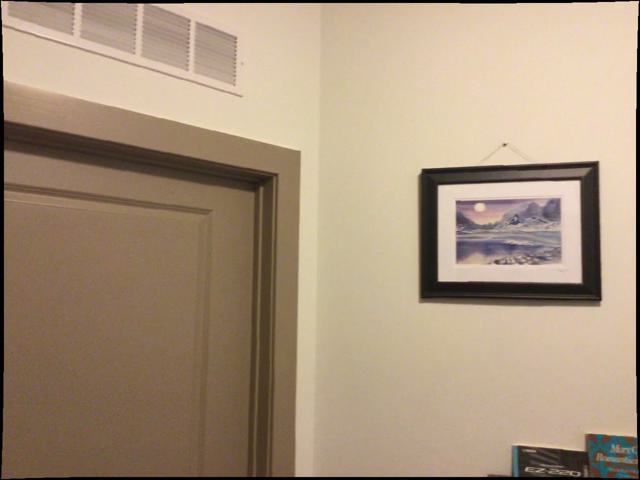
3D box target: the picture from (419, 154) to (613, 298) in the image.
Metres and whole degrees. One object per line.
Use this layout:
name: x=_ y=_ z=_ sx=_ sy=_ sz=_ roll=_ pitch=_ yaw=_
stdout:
picture: x=0.539 y=-0.030 z=1.630 sx=0.499 sy=0.381 sz=0.050 roll=-2 pitch=-4 yaw=17

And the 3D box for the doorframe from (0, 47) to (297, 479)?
doorframe: x=-0.529 y=0.702 z=1.360 sx=1.058 sy=2.205 sz=0.160 roll=2 pitch=-5 yaw=-38
